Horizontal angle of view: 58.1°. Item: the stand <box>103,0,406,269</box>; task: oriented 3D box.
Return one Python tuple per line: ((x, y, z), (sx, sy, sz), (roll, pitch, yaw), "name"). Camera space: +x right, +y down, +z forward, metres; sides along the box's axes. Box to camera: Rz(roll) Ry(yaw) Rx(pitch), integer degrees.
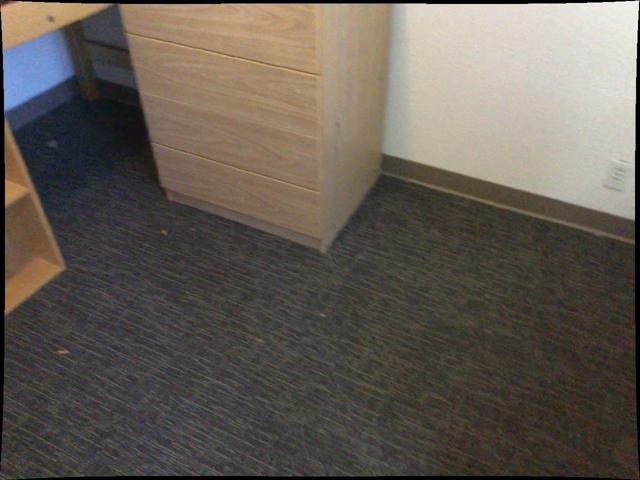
((-0.210, -0.591, 2.170), (0.809, 1.011, 0.650), (20, 44, 18), "stand")
